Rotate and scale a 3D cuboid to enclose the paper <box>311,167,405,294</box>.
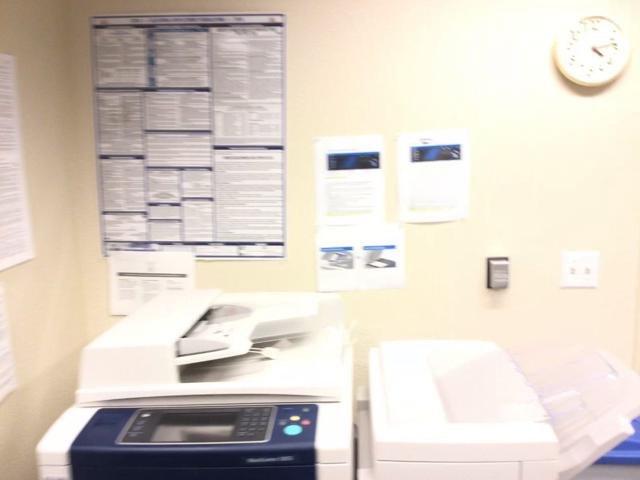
[{"bbox_3d":[0.120,-0.030,1.820,0.270,0.380,0.070,-3,4,2],"label":"paper"}]

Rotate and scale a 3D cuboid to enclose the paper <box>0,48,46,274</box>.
[{"bbox_3d":[-0.790,-0.200,1.460,0.030,0.550,0.230,-3,4,2],"label":"paper"}]

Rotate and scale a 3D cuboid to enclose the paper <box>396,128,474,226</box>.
[{"bbox_3d":[0.350,-0.190,1.760,0.220,0.280,0.040,-3,4,2],"label":"paper"}]
